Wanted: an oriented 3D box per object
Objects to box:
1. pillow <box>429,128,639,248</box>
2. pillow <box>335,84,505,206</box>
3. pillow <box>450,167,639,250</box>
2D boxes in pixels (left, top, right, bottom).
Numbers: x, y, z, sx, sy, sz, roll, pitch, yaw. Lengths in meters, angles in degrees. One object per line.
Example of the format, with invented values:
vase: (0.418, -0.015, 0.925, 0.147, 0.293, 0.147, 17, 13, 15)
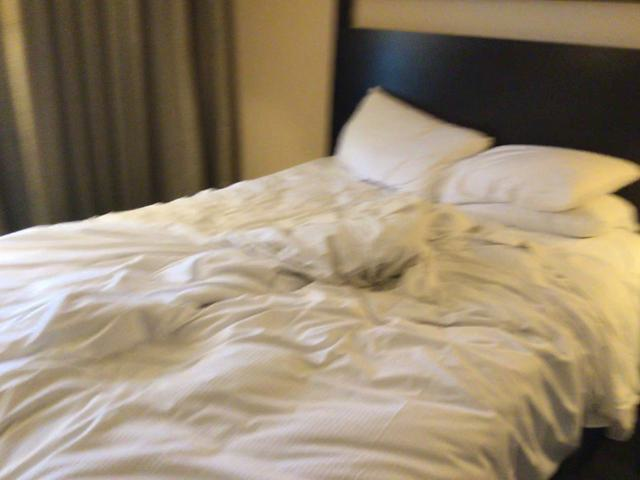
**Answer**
pillow: (0.750, -0.210, 2.020, 0.580, 0.240, 0.400, 18, 26, 37)
pillow: (0.380, -0.410, 2.340, 0.320, 0.360, 0.580, -15, 26, -37)
pillow: (0.790, -0.130, 2.030, 0.560, 0.110, 0.320, 18, 26, 37)
